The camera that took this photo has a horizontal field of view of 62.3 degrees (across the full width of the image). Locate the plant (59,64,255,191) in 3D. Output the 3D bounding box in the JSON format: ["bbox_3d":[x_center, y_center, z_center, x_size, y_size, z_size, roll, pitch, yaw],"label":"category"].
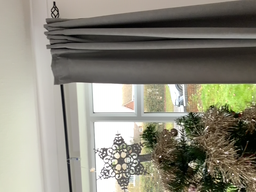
[{"bbox_3d":[0.760,0.190,0.810,0.660,1.790,0.610,-70,-21,-80],"label":"plant"}]
